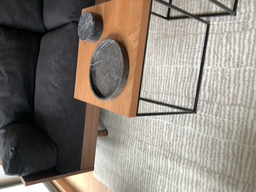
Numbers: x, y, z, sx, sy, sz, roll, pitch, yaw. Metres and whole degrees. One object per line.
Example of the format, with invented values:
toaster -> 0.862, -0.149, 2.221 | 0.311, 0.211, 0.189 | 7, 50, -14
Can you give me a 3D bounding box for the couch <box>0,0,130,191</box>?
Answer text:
couch -> -0.560, -0.510, 1.560 | 0.830, 0.750, 1.990 | 11, 97, 48
